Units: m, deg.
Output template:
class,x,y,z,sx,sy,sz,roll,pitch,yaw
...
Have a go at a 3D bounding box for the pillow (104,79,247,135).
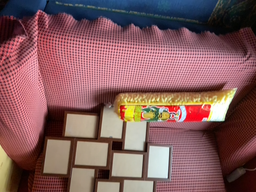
class,x,y,z,sx,sy,sz,roll,pitch,yaw
pillow,0.220,0.070,1.120,0.670,0.130,0.260,4,140,-7
